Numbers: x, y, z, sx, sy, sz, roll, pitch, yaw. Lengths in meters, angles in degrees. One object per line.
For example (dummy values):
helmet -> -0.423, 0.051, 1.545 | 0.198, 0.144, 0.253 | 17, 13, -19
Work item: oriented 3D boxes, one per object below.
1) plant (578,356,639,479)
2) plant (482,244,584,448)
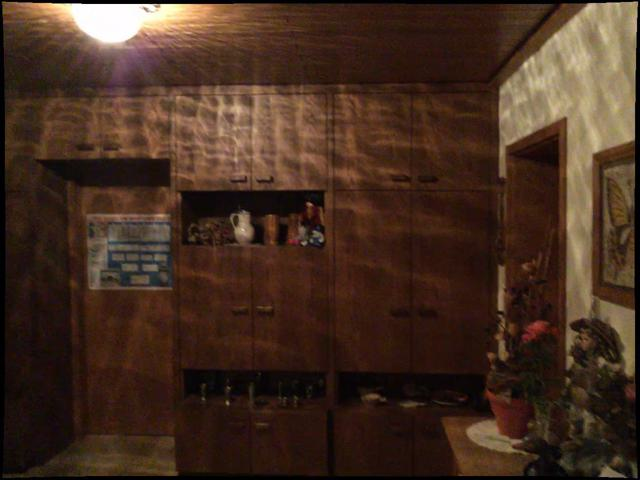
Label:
plant -> 0.839, 0.531, 1.450 | 0.280, 0.420, 0.240 | 0, 4, 4
plant -> 0.739, 0.350, 2.050 | 0.250, 0.651, 0.310 | 0, 4, 4
